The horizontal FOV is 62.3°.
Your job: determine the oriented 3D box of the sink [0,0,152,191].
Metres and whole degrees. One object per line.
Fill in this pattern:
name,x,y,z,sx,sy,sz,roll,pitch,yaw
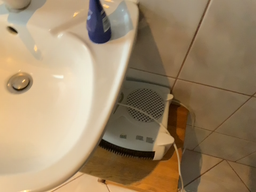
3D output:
sink,-0.280,-0.040,0.490,0.570,0.190,0.430,14,61,5
